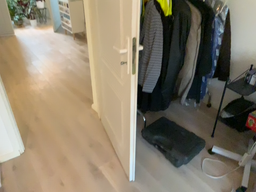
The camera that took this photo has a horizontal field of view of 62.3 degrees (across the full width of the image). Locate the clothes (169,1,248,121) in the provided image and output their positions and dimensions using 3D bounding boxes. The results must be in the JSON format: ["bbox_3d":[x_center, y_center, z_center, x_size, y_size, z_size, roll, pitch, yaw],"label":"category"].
[{"bbox_3d":[0.810,-0.380,2.370,0.330,1.170,0.560,-9,33,-15],"label":"clothes"}]

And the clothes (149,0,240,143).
[{"bbox_3d":[0.550,-0.260,2.120,0.320,1.280,0.660,-11,34,-19],"label":"clothes"}]
